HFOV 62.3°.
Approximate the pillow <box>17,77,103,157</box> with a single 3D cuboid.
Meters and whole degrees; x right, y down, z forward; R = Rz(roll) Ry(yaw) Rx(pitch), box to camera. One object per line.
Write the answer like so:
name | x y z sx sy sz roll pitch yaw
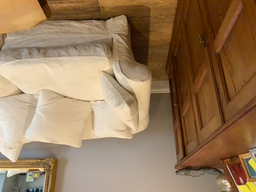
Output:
pillow | -0.630 0.210 2.030 0.580 0.530 0.240 30 158 -22
